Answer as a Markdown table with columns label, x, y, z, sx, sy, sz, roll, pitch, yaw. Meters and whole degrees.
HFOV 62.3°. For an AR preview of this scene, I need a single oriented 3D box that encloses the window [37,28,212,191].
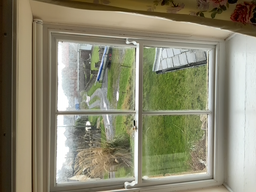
| label | x | y | z | sx | sy | sz | roll | pitch | yaw |
| --- | --- | --- | --- | --- | --- | --- | --- | --- | --- |
| window | 0.030 | 0.090 | 1.300 | 0.060 | 1.080 | 0.900 | -178 | 88 | -74 |
